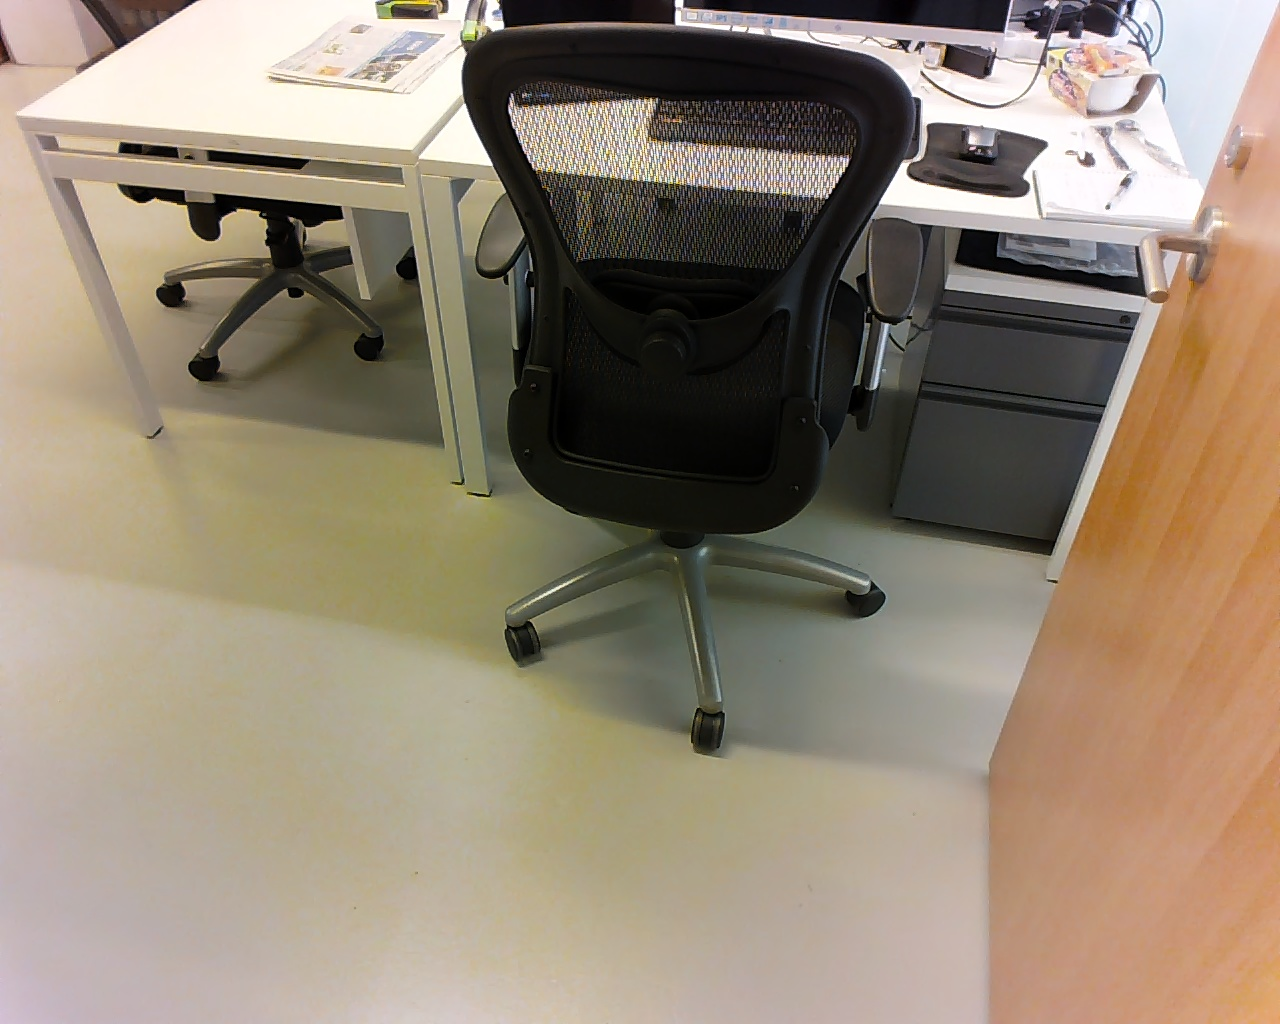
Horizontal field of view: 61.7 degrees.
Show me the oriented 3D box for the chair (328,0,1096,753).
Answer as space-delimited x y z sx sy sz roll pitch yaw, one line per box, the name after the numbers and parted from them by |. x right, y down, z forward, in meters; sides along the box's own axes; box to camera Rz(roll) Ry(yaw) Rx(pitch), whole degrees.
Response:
0.140 -0.320 1.730 0.790 1.090 0.770 9 43 10 | chair

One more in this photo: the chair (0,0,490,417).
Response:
-0.860 -0.900 2.430 0.730 1.030 0.770 8 43 9 | chair
